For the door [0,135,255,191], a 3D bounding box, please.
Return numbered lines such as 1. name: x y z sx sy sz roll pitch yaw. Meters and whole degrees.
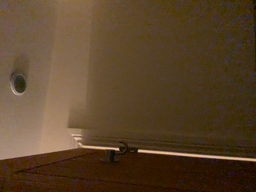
1. door: 0.660 0.180 0.470 0.680 2.000 0.040 39 -127 -76
